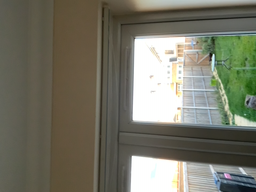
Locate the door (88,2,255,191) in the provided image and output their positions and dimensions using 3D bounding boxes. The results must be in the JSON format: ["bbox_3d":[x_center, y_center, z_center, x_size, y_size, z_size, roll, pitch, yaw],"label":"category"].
[{"bbox_3d":[0.880,0.230,1.070,0.100,2.240,1.430,15,-103,-76],"label":"door"}]
